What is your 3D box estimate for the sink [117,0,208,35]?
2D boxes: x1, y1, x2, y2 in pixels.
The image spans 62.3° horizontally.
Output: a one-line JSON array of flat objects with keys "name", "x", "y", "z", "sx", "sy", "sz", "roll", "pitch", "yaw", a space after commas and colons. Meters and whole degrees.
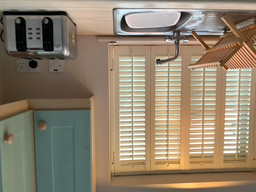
[{"name": "sink", "x": 0.140, "y": -0.490, "z": 1.150, "sx": 0.390, "sy": 0.210, "sz": 0.490, "roll": 0, "pitch": -175, "yaw": -3}]
